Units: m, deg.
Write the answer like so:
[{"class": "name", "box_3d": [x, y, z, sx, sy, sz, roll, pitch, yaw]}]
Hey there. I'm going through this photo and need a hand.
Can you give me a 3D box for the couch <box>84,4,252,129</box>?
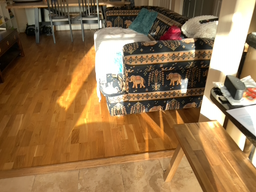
[{"class": "couch", "box_3d": [0.140, -0.690, 2.920, 1.390, 0.750, 2.470, -5, 30, -9]}]
